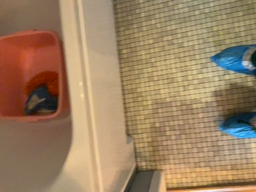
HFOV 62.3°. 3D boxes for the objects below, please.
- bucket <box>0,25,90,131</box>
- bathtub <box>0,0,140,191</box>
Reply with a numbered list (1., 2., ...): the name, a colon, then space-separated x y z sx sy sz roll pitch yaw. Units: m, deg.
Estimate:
1. bucket: -0.420 -0.070 1.030 0.400 0.190 0.440 -3 90 12
2. bathtub: -0.410 -0.270 0.960 0.680 0.610 1.420 -7 89 12
